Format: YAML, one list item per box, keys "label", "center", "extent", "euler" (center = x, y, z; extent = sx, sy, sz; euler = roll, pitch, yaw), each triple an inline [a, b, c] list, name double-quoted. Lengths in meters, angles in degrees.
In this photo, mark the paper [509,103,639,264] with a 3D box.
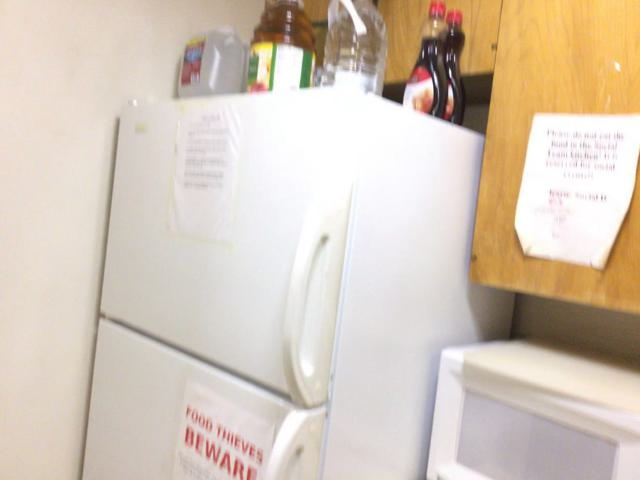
- label: "paper"
  center: [0.480, -0.110, 1.090]
  extent: [0.030, 0.280, 0.210]
  euler: [4, 5, -45]
